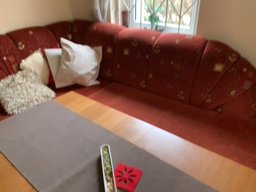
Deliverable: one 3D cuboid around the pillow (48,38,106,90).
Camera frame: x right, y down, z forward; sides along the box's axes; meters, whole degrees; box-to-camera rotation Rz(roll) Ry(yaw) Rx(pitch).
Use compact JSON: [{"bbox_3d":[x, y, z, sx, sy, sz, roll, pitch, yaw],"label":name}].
[{"bbox_3d":[-0.460,-0.320,2.010,0.290,0.330,0.410,19,35,30],"label":"pillow"}]
